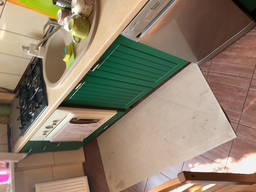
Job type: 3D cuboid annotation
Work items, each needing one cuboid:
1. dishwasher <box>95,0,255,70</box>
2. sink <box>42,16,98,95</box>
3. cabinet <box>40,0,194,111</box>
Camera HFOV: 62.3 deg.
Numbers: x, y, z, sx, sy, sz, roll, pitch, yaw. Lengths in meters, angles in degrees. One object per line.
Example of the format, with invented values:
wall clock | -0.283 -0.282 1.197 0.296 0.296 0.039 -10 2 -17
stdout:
dishwasher | 0.280 -0.620 1.350 0.480 0.870 0.590 -39 57 36
sink | -0.460 -0.290 1.610 0.390 0.190 0.410 -39 57 36
cabinet | -0.110 -0.320 1.730 0.770 0.860 0.550 -39 57 36
